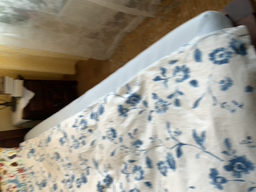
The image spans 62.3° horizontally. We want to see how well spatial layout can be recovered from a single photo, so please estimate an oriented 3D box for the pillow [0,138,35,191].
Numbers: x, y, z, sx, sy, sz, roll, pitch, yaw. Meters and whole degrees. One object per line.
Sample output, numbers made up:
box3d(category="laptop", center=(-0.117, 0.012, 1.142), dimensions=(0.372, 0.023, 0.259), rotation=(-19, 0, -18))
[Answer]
box3d(category="pillow", center=(-0.980, 0.700, 1.810), dimensions=(0.300, 0.220, 0.600), rotation=(-26, 73, 45))
